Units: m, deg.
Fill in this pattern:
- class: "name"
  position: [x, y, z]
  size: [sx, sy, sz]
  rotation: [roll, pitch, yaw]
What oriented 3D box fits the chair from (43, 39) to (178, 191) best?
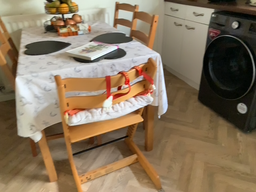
- class: "chair"
  position: [-0.120, 0.150, 1.210]
  size: [0.510, 0.760, 0.530]
  rotation: [-12, 32, -19]
